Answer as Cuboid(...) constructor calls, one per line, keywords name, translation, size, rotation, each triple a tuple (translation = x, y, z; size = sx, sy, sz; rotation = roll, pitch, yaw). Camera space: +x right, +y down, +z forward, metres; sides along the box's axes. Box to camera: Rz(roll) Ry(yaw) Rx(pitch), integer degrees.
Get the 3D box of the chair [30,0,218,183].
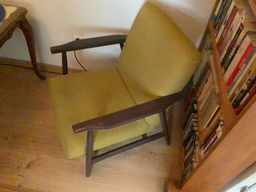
Cuboid(name="chair", translation=(-0.090, -0.030, 1.240), size=(0.670, 0.800, 0.640), rotation=(-12, 53, -14))
